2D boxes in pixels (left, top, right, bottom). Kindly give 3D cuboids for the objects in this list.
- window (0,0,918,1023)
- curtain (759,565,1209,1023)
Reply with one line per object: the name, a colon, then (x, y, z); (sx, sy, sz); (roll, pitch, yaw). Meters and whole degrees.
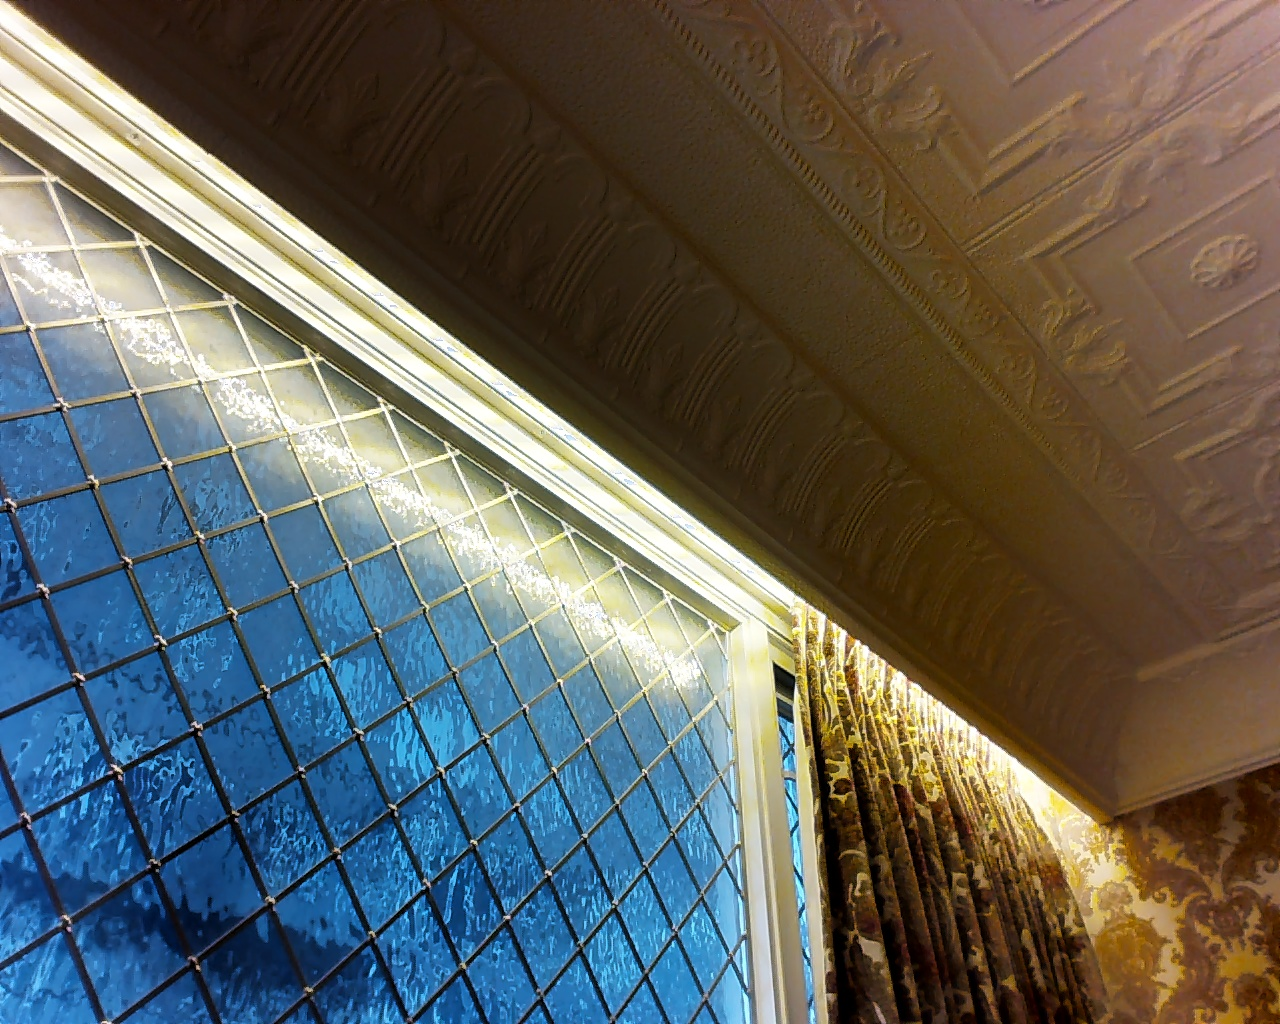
window: (-0.310, 0.220, 1.160); (0.220, 1.310, 1.800); (-32, -51, 31)
curtain: (0.720, 1.020, 1.890); (0.250, 1.560, 1.150); (-32, -51, 31)
